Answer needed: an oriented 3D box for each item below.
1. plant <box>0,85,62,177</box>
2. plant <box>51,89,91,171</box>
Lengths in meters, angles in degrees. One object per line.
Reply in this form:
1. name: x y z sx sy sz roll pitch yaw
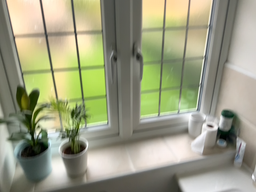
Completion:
1. plant: -0.380 0.140 0.870 0.160 0.320 0.150 -9 27 -17
2. plant: -0.240 0.140 0.890 0.110 0.290 0.150 -10 27 -18
